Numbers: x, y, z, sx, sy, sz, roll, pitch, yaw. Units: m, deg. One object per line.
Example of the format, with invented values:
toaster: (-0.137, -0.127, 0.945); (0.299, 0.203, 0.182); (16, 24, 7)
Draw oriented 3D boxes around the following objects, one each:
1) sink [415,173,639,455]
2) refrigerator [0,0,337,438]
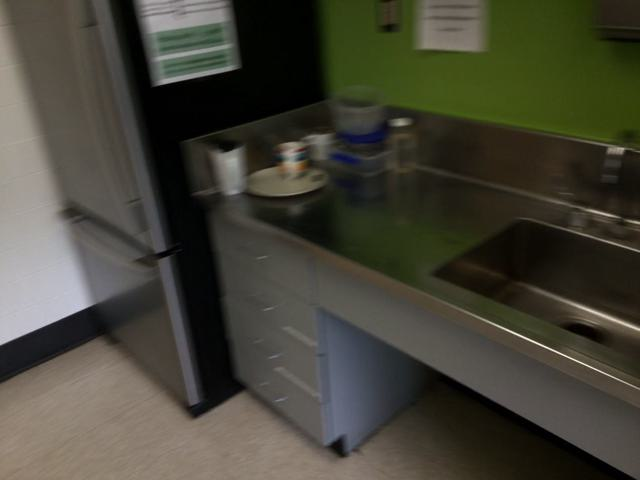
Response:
sink: (0.600, 0.120, 1.340); (0.450, 0.320, 0.590); (-24, 33, -37)
refrigerator: (-0.530, -0.330, 2.080); (0.790, 1.660, 0.810); (-24, 33, -37)
